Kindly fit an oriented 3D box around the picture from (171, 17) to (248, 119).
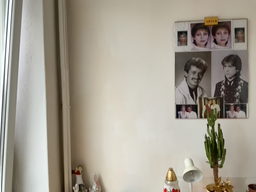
[{"bbox_3d":[0.570,-0.190,1.490,0.510,0.690,0.050,-1,1,3],"label":"picture"}]
